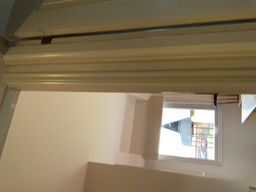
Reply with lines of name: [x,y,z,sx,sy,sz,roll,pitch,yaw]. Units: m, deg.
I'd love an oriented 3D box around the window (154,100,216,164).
window: [1.050,0.630,3.890,0.270,1.010,1.060,48,-134,-65]
